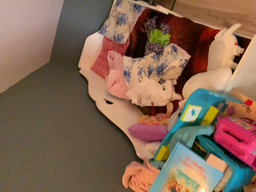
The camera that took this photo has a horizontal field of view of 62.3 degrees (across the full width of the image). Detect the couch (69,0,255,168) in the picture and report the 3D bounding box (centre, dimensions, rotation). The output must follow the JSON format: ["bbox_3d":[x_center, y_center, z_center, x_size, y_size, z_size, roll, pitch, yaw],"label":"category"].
[{"bbox_3d":[0.150,-0.350,1.860,1.690,0.730,0.870,48,122,49],"label":"couch"}]

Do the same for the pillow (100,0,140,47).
[{"bbox_3d":[-0.100,-0.780,2.230,0.370,0.150,0.420,43,118,51],"label":"pillow"}]
